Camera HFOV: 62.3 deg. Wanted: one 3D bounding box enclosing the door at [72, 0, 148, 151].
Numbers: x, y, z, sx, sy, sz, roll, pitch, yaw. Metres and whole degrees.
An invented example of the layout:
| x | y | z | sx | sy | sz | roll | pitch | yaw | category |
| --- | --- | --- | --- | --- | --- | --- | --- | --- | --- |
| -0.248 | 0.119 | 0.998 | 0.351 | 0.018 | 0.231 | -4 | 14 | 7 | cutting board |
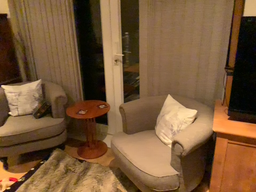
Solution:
| x | y | z | sx | sy | sz | roll | pitch | yaw | category |
| --- | --- | --- | --- | --- | --- | --- | --- | --- | --- |
| -0.170 | -0.410 | 2.250 | 0.760 | 2.100 | 0.120 | 6 | 22 | 20 | door |
